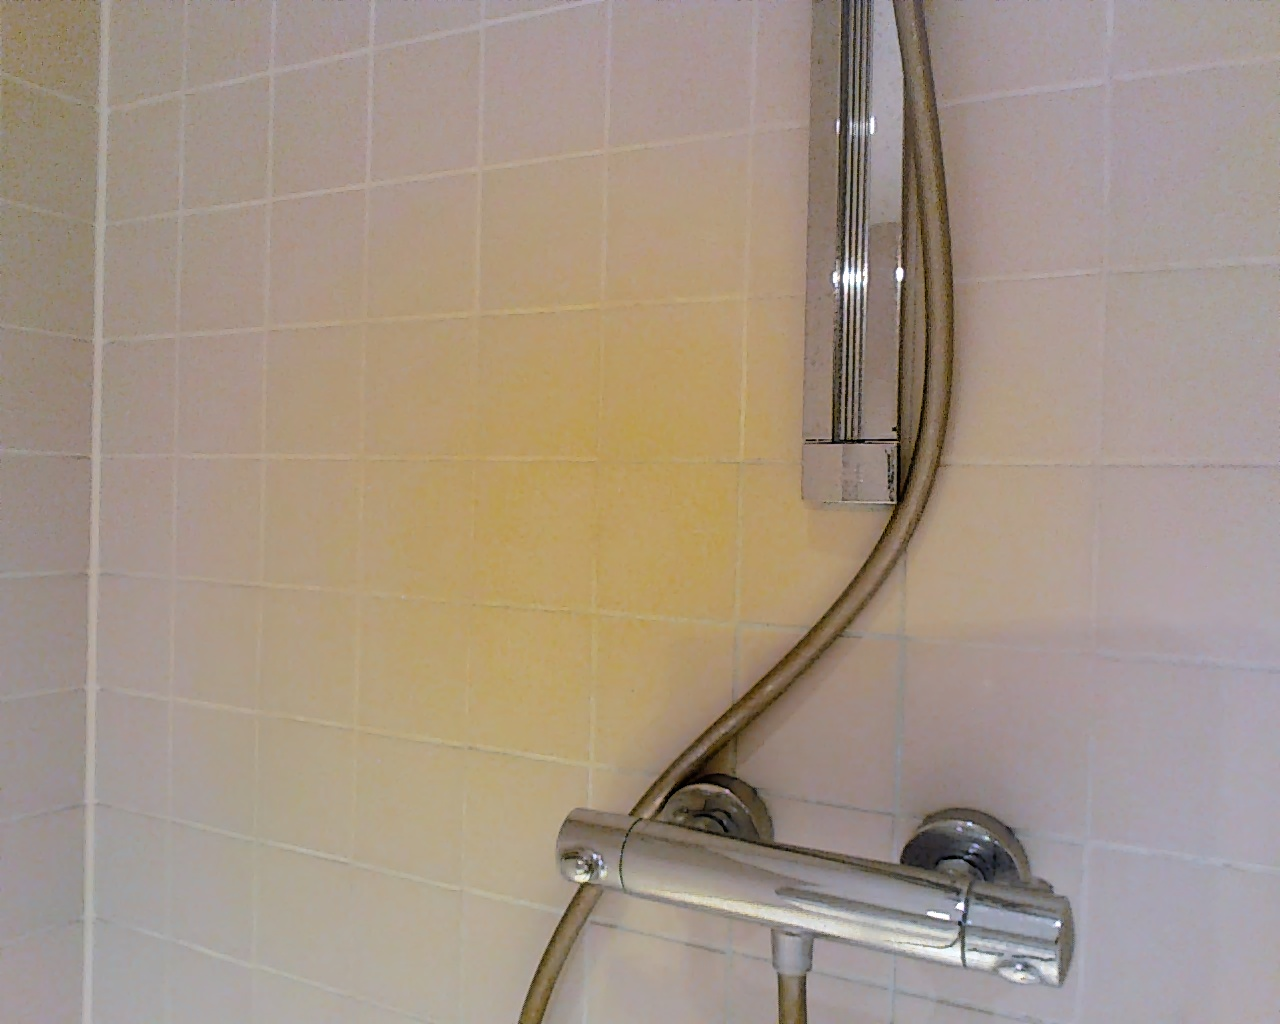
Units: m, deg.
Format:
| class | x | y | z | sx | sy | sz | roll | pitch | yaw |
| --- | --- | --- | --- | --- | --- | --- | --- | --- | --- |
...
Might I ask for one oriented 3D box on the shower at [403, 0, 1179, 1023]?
| class | x | y | z | sx | sy | sz | roll | pitch | yaw |
| --- | --- | --- | --- | --- | --- | --- | --- | --- | --- |
| shower | 0.080 | -0.230 | 0.610 | 0.400 | 1.600 | 0.130 | 2 | 1 | 27 |
